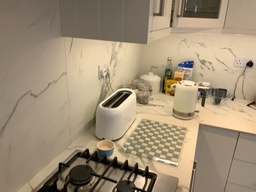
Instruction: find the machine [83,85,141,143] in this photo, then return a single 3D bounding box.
[{"bbox_3d":[-0.080,0.090,1.300,0.220,0.190,0.360,10,22,17],"label":"machine"}]
